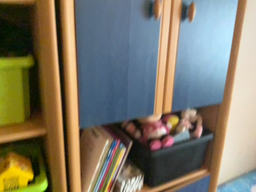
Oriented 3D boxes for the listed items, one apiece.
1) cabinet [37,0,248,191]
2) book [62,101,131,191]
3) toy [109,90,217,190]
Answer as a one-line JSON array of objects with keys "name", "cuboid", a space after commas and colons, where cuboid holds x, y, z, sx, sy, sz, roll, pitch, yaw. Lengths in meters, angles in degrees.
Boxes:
[{"name": "cabinet", "cuboid": [0.050, 0.230, 1.020, 0.740, 1.920, 0.390, -8, 19, -29]}, {"name": "book", "cuboid": [-0.150, 0.220, 0.940, 0.200, 0.300, 0.300, -7, 19, -27]}, {"name": "toy", "cuboid": [0.150, 0.180, 1.090, 0.390, 0.310, 0.360, -7, 19, -27]}]
